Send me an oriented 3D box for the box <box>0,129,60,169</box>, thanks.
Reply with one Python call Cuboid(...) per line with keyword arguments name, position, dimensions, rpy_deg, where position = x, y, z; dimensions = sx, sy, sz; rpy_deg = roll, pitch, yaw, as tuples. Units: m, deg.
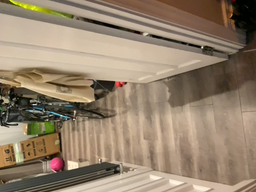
Cuboid(name="box", position=(-1.930, 0.900, 3.450), dimensions=(0.520, 1.430, 0.450), rpy_deg=(-33, 65, 46))
